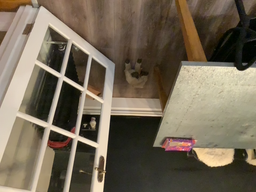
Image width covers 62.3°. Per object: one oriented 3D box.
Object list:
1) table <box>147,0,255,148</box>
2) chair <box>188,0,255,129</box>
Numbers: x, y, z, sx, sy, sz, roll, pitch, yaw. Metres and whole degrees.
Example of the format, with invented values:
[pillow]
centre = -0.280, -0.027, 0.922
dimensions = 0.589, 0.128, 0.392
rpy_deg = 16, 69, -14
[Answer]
[table]
centre = 0.990, -0.160, 1.490
dimensions = 1.580, 0.750, 0.960
rpy_deg = 1, 148, -2
[chair]
centre = 0.710, -0.290, 1.220
dimensions = 0.490, 0.820, 0.500
rpy_deg = 0, 148, 1
